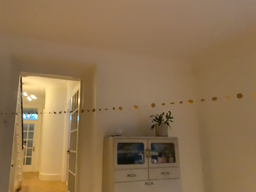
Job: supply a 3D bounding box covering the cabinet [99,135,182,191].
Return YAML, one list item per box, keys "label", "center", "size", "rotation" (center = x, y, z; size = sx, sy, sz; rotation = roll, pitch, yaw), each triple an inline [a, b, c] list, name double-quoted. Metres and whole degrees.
- label: "cabinet"
  center: [0.150, 1.380, 2.630]
  size: [0.930, 1.750, 0.470]
  rotation: [4, -13, -21]
